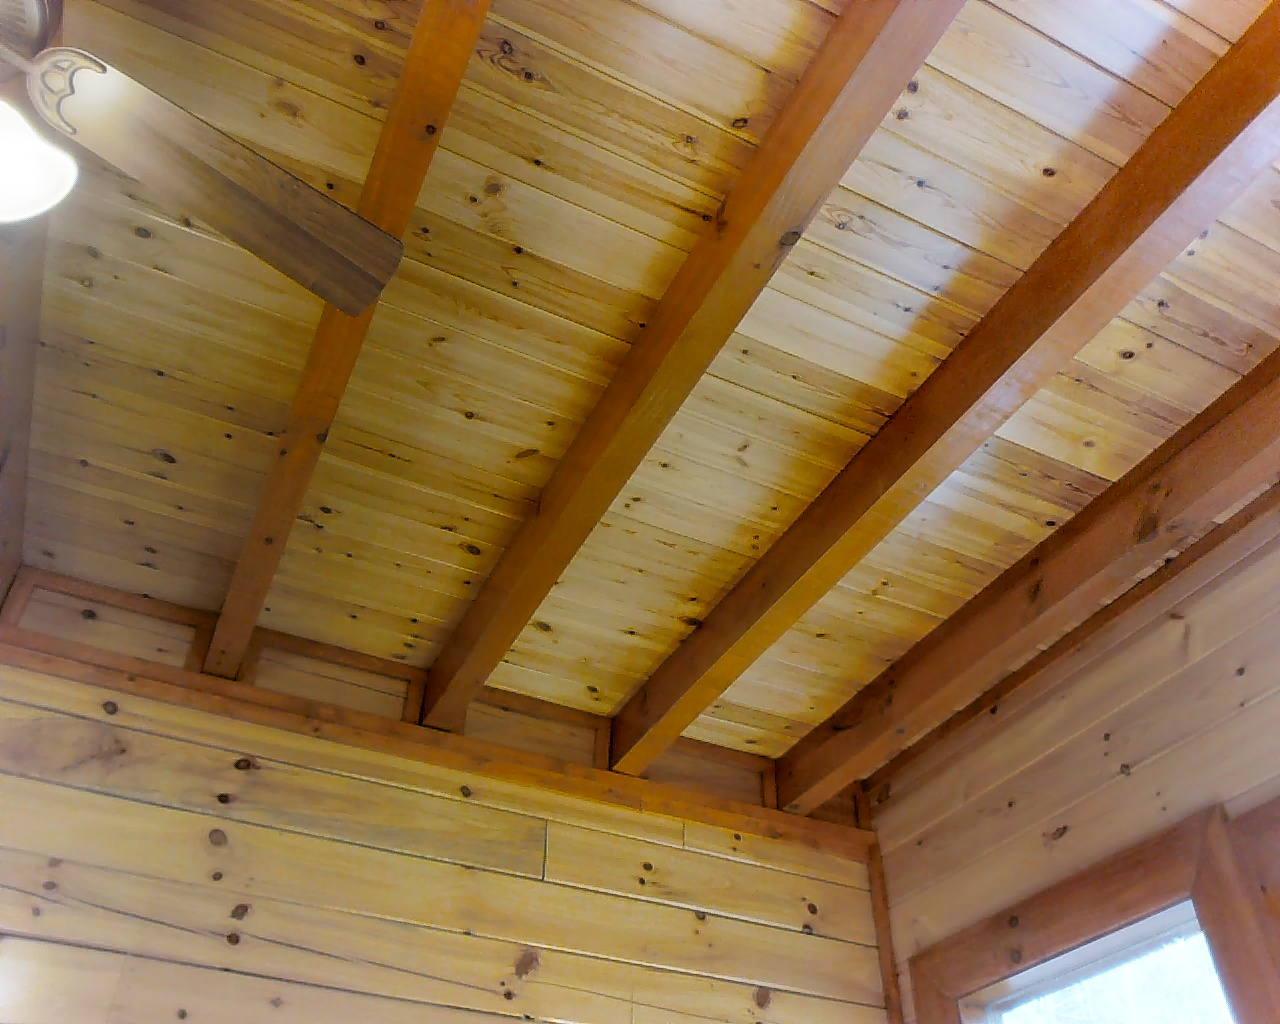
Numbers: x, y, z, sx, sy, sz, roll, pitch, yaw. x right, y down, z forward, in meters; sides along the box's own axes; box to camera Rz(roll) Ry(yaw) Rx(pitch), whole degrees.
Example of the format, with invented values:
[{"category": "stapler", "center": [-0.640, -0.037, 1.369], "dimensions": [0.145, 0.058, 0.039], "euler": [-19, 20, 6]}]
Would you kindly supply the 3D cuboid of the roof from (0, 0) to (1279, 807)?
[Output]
[{"category": "roof", "center": [-0.230, -0.750, 1.760], "dimensions": [4.150, 0.160, 3.830], "euler": [18, -43, -18]}]
